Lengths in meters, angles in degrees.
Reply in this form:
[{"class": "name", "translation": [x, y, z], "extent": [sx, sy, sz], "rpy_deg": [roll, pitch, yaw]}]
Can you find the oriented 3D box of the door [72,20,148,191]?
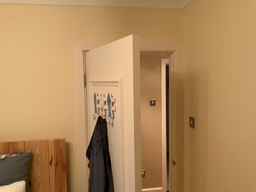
[{"class": "door", "translation": [-0.170, 0.690, 1.470], "extent": [0.150, 2.130, 0.900], "rpy_deg": [-3, 5, -27]}]
